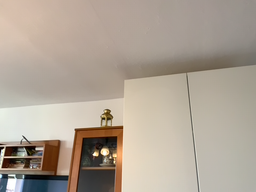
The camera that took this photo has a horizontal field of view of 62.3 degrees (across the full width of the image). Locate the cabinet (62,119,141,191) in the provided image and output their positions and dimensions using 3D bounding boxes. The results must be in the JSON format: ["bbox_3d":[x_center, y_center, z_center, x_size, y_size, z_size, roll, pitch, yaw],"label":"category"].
[{"bbox_3d":[-0.200,1.240,1.620,0.490,2.010,0.560,-5,-23,15],"label":"cabinet"}]
